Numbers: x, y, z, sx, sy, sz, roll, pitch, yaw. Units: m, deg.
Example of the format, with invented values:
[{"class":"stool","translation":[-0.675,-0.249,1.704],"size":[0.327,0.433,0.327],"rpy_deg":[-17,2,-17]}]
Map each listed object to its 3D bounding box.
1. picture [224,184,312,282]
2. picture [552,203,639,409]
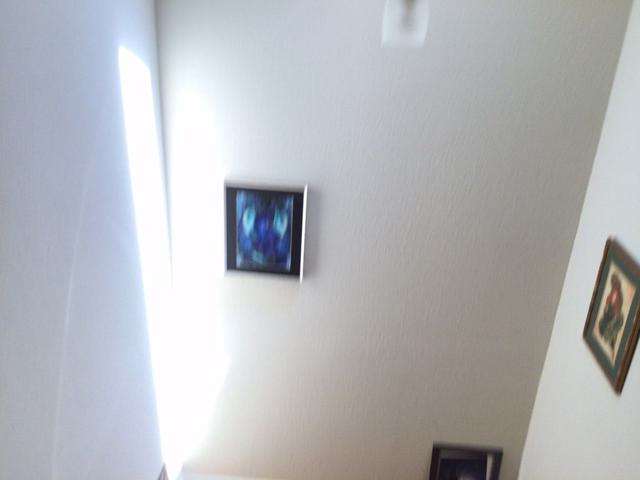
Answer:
[{"class":"picture","translation":[-0.270,-0.030,2.970],"size":[0.430,0.500,0.050],"rpy_deg":[4,26,2]},{"class":"picture","translation":[1.170,0.240,2.430],"size":[0.050,0.550,0.740],"rpy_deg":[4,26,2]}]
